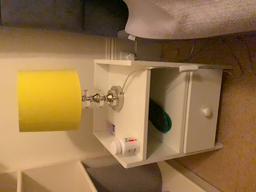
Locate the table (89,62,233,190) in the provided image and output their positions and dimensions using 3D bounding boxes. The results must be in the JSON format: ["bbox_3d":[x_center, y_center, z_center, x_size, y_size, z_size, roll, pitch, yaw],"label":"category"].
[{"bbox_3d":[0.100,0.060,0.930,0.430,0.430,0.390,22,112,61],"label":"table"}]
